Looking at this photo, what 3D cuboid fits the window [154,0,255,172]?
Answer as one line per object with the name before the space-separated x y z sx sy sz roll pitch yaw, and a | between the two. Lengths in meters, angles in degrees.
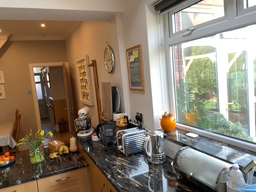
window | 0.770 -0.200 1.540 0.220 1.330 1.670 -8 7 -24
